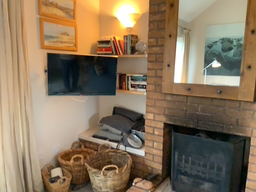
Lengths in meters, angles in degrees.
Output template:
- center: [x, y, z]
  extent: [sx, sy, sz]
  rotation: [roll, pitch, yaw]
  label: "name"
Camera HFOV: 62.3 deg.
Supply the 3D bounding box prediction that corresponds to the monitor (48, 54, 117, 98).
- center: [-0.490, -0.220, 2.360]
  extent: [0.740, 0.460, 0.040]
  rotation: [-2, 10, -18]
  label: "monitor"
